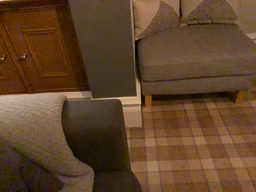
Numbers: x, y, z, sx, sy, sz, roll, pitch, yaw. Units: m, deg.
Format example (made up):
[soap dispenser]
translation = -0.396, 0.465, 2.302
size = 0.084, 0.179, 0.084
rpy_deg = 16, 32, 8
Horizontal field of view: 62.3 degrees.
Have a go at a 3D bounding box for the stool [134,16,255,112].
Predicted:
[stool]
translation = 0.470, -0.270, 1.670
size = 0.820, 0.450, 0.630
rpy_deg = -2, 39, 3
